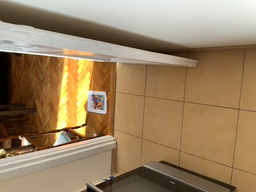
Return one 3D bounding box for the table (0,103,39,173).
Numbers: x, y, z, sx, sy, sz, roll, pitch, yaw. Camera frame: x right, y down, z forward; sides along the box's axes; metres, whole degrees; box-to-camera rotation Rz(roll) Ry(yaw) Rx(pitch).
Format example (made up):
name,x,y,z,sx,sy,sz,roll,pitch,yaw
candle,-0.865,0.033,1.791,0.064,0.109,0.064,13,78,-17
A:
name,x,y,z,sx,sy,sz,roll,pitch,yaw
table,-1.830,0.550,3.020,0.750,0.780,0.840,2,93,44
